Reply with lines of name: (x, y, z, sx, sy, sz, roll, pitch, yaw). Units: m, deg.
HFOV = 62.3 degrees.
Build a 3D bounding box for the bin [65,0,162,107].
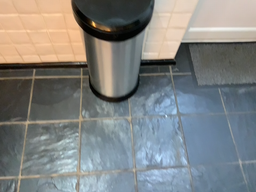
bin: (-0.080, -0.210, 1.110, 0.340, 0.690, 0.270, -2, 64, -5)
